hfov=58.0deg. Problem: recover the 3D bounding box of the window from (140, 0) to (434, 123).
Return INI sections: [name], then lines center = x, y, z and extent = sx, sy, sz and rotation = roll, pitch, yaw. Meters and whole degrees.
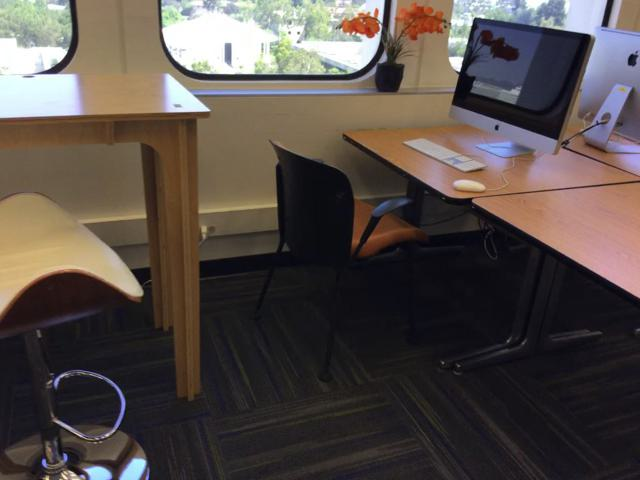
[window]
center = -0.150, -1.130, 2.500
extent = 1.230, 0.930, 0.300
rotation = -16, 29, -13
